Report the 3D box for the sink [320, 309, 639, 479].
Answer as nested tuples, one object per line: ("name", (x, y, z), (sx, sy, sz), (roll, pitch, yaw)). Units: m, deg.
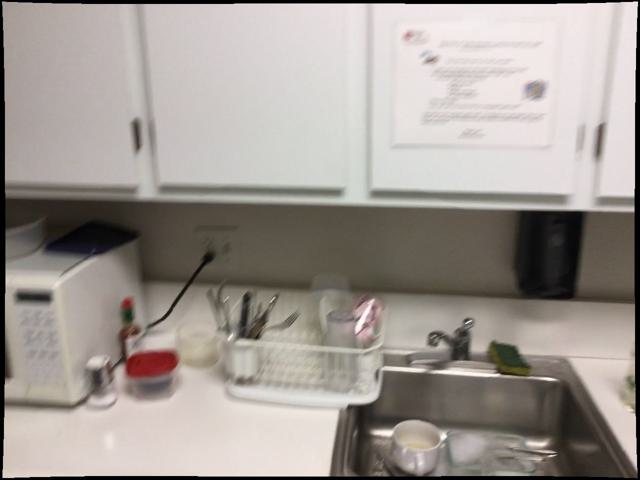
("sink", (0.310, 0.410, 1.220), (0.549, 0.290, 0.600), (2, 17, 7))
